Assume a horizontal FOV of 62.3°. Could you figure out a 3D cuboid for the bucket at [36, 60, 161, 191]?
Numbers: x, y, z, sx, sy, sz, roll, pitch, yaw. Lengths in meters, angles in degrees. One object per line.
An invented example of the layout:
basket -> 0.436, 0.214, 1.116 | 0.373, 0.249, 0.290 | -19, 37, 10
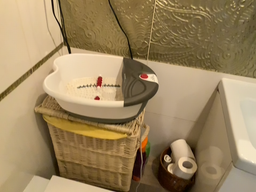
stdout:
bucket -> -0.130, 0.270, 1.140 | 0.430, 0.770, 0.340 | 14, 39, 10
